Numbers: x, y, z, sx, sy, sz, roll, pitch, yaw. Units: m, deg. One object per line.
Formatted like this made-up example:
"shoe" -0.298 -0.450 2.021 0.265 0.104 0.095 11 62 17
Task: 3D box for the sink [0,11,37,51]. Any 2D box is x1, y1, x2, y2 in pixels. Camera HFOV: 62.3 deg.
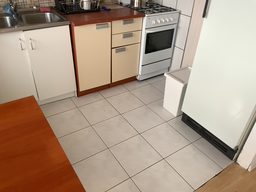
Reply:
"sink" -1.130 -0.600 1.920 0.430 0.190 0.490 -17 40 -28

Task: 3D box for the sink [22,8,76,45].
"sink" -0.790 -0.710 2.110 0.370 0.190 0.490 -17 40 -28

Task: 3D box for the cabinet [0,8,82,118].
"cabinet" -0.980 -0.370 2.180 0.800 0.840 0.530 -17 40 -28
